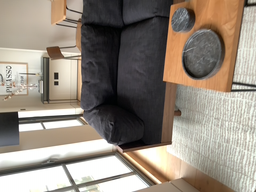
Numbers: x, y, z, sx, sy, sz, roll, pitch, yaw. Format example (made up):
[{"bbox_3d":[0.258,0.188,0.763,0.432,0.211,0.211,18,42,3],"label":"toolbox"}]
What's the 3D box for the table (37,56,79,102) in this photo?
[{"bbox_3d":[-1.440,-0.350,4.360,0.310,0.750,0.890,19,108,59],"label":"table"}]
